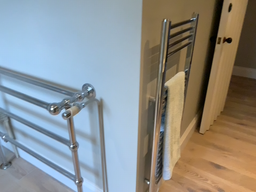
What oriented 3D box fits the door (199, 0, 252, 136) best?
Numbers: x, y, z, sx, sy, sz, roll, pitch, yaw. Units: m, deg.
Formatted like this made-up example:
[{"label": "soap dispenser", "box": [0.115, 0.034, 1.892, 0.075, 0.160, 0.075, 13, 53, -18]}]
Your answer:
[{"label": "door", "box": [1.040, -0.630, 2.090, 0.040, 2.040, 0.790, 20, 32, 33]}]
